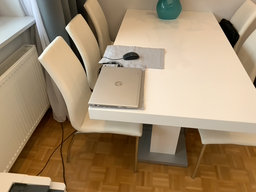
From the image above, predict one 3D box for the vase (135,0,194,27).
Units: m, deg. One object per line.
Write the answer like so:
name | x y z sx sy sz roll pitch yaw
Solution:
vase | 0.350 -1.000 1.980 0.510 0.570 0.330 6 39 6
